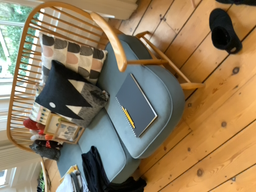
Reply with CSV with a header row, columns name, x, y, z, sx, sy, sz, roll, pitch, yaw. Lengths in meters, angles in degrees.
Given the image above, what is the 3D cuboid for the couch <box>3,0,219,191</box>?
name,x,y,z,sx,sy,sz,roll,pitch,yaw
couch,-0.390,0.260,1.720,1.030,0.760,1.740,53,130,30
